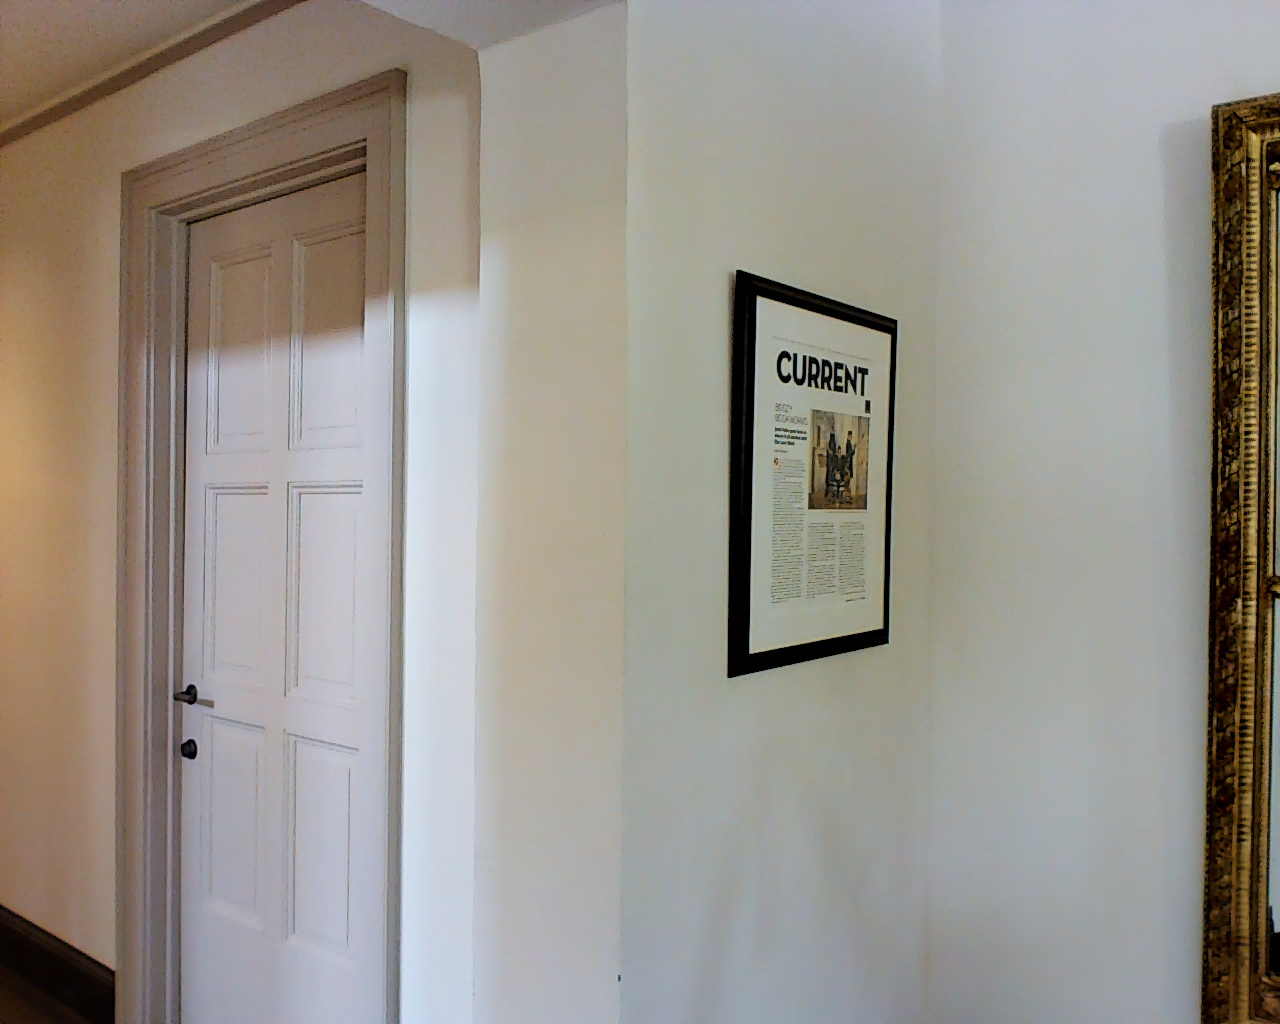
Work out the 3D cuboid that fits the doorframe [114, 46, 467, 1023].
[{"bbox_3d":[-0.920,0.230,2.670,1.200,2.400,0.180,1,0,38],"label":"doorframe"}]
